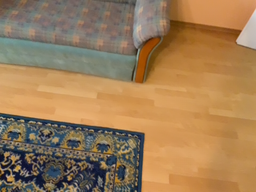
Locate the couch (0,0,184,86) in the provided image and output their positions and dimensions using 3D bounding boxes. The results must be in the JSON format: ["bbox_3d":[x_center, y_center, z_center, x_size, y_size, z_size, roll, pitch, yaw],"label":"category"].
[{"bbox_3d":[-0.470,-0.810,1.700,1.610,0.860,0.900,8,55,-1],"label":"couch"}]
